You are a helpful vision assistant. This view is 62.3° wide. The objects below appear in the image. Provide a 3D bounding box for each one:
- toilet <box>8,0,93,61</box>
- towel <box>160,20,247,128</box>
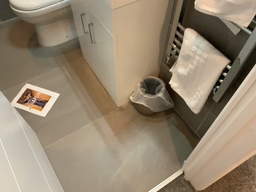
[{"bbox_3d":[-0.650,-0.690,1.780,0.510,0.470,0.420,-27,61,-17],"label":"toilet"},{"bbox_3d":[0.340,-0.080,1.100,0.120,0.510,0.280,-30,62,-20],"label":"towel"}]
